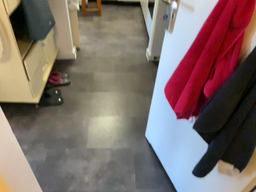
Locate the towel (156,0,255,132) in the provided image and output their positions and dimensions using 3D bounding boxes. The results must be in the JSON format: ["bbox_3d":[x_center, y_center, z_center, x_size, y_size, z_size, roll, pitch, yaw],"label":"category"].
[{"bbox_3d":[0.260,-0.120,0.750,0.180,0.510,0.190,-8,45,-15],"label":"towel"}]
